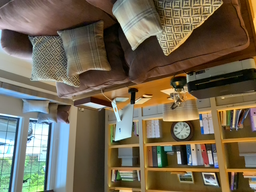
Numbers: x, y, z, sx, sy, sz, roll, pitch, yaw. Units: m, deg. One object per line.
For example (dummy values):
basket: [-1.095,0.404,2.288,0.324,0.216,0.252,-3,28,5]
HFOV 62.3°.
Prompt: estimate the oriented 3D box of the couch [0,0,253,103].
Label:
couch: [-0.150,-0.590,1.570,1.670,0.860,1.110,-11,162,32]

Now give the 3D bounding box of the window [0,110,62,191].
window: [-2.180,0.940,3.020,0.190,1.530,2.730,-12,161,34]
